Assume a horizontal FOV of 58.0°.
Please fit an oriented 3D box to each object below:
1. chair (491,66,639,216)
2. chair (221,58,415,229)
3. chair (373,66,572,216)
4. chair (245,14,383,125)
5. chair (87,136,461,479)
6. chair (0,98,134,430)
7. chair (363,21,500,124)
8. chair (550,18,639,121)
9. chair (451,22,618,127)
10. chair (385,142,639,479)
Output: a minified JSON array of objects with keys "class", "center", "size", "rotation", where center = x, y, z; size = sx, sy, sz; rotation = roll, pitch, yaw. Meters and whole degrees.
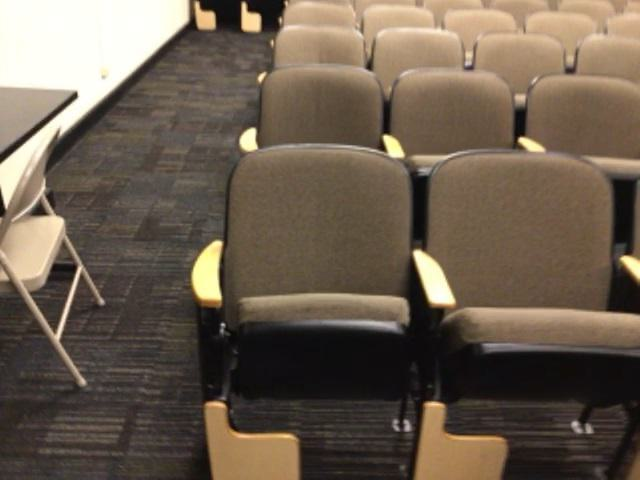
[{"class":"chair","center":[1.050,-0.400,2.220],"size":[0.570,0.390,0.580],"rotation":[-1,29,-1]},{"class":"chair","center":[-0.010,-0.390,2.230],"size":[0.630,0.490,0.540],"rotation":[-1,29,-1]},{"class":"chair","center":[0.530,-0.400,2.220],"size":[0.580,0.400,0.550],"rotation":[-1,29,-1]},{"class":"chair","center":[-0.030,-0.870,2.890],"size":[0.600,0.400,0.620],"rotation":[-1,29,-1]},{"class":"chair","center":[-0.090,0.200,1.560],"size":[0.720,0.790,0.580],"rotation":[-1,29,-1]},{"class":"chair","center":[-1.070,0.070,1.830],"size":[0.670,0.880,0.570],"rotation":[-1,29,-1]},{"class":"chair","center":[0.520,-0.860,2.910],"size":[0.550,0.370,0.580],"rotation":[-1,29,-1]},{"class":"chair","center":[1.550,-0.860,2.870],"size":[0.550,0.380,0.530],"rotation":[-1,29,-1]},{"class":"chair","center":[1.010,-0.830,2.850],"size":[0.570,0.370,0.560],"rotation":[-1,29,-1]},{"class":"chair","center":[0.540,0.170,1.550],"size":[0.630,0.690,0.580],"rotation":[-1,29,-1]}]
